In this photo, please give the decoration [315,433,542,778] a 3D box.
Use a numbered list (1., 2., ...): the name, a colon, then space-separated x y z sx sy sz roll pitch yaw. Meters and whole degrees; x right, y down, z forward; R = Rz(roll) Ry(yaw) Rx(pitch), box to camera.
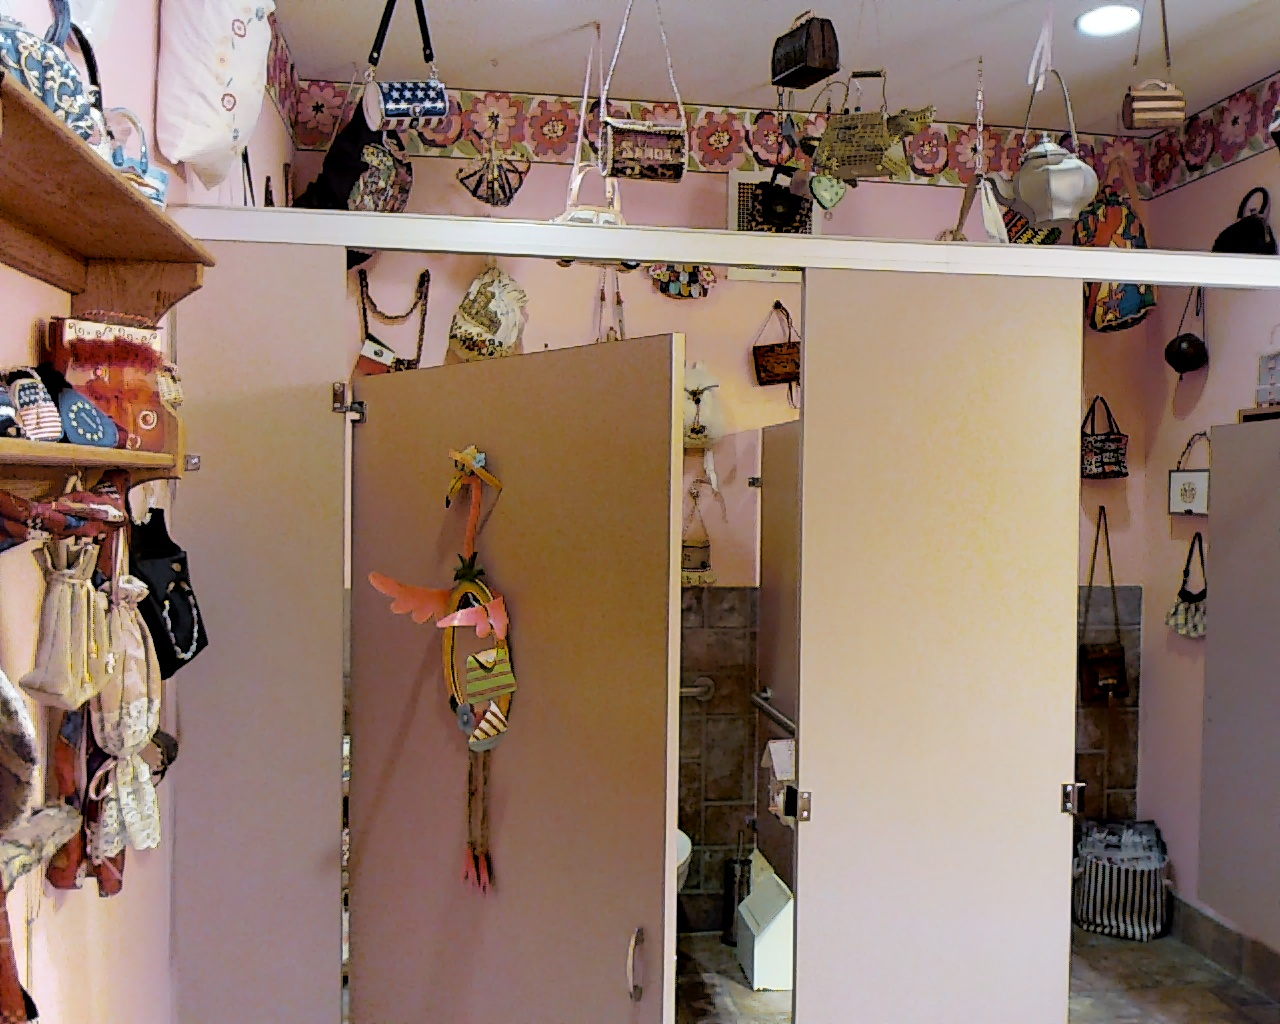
1. decoration: -0.370 0.130 1.800 0.140 0.500 0.510 0 1 -40
